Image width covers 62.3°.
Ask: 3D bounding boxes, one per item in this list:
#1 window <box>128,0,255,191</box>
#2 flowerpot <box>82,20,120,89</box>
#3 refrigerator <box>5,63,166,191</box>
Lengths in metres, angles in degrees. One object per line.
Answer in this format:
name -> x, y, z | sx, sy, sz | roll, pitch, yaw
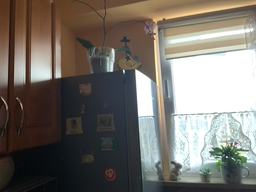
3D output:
window -> 0.550, 0.020, 1.370 | 1.040, 1.180, 0.180 | -4, -6, 16
flowerpot -> -0.150, -0.220, 1.190 | 0.150, 0.330, 0.160 | -4, -6, 19
refrigerator -> -0.150, 0.800, 1.180 | 0.650, 1.770, 0.680 | -4, -6, 17
